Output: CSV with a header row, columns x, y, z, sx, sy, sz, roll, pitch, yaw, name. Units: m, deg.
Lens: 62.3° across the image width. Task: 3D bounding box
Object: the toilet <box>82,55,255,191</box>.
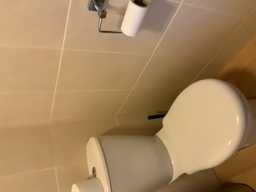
x,y,z,sx,sy,sz,roll,pitch,yaw,name
0.260,0.180,1.050,0.660,0.780,0.350,-57,45,46,toilet
